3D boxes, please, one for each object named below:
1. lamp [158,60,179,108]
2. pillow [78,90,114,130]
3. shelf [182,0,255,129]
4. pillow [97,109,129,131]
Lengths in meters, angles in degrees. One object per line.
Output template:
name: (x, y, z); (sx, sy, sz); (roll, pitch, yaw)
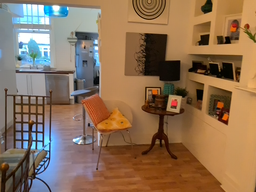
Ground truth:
lamp: (0.590, -0.180, 3.140); (0.200, 0.670, 0.230); (0, 12, -8)
pillow: (-0.440, 0.190, 3.030); (0.160, 0.390, 0.440); (-28, 15, 26)
shelf: (1.230, -0.720, 2.710); (0.410, 1.900, 1.330); (0, 12, -9)
pillow: (-0.220, 0.330, 2.980); (0.400, 0.180, 0.390); (-1, 12, -12)
